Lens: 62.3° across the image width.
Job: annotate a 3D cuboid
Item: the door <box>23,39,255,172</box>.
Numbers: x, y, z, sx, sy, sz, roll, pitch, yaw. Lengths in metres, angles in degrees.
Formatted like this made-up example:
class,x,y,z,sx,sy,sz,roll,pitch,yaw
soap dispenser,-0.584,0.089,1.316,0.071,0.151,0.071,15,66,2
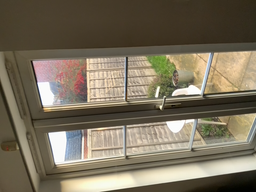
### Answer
class,x,y,z,sx,sy,sz,roll,pitch,yaw
door,0.360,0.100,1.730,0.030,2.060,1.080,-110,18,-59
